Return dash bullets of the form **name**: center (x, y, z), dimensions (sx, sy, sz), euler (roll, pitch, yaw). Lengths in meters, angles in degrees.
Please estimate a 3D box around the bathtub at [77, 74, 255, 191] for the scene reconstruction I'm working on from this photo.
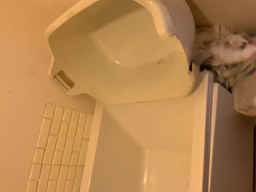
- **bathtub**: center (0.160, 0.710, 1.060), dimensions (0.700, 0.600, 1.440), euler (-4, 71, 44)
